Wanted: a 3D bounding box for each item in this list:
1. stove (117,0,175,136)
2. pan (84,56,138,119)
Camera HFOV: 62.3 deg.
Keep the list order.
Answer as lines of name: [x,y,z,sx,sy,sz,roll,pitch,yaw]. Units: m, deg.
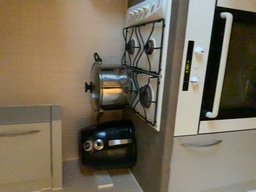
stove: [0.050,-0.180,1.090,0.560,0.030,0.580,-145,56,-66]
pan: [-0.110,-0.060,1.180,0.270,0.220,0.290,-145,56,-66]
